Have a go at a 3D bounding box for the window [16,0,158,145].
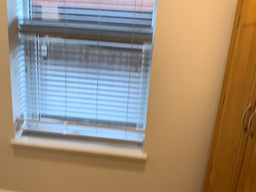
[{"bbox_3d":[-0.370,-0.350,1.730,1.130,1.480,0.010,6,14,7],"label":"window"}]
